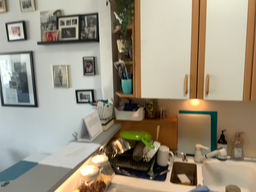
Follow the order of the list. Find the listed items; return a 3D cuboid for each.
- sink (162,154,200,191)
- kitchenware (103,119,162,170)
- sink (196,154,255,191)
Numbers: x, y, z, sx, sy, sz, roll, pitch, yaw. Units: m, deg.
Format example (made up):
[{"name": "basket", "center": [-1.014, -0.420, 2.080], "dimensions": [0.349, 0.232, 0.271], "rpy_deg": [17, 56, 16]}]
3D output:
[{"name": "sink", "center": [0.360, 0.560, 1.430], "dimensions": [0.210, 0.150, 0.410], "rpy_deg": [1, 9, 15]}, {"name": "kitchenware", "center": [0.050, 0.350, 1.610], "dimensions": [0.380, 0.250, 0.310], "rpy_deg": [1, 9, 15]}, {"name": "sink", "center": [0.670, 0.600, 1.370], "dimensions": [0.410, 0.220, 0.500], "rpy_deg": [1, 9, 15]}]
